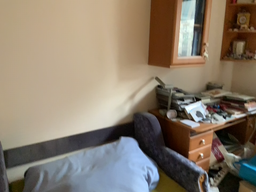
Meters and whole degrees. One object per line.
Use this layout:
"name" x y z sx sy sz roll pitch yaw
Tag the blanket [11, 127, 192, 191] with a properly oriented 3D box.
"blanket" -0.210 0.600 1.620 1.110 0.250 0.800 -9 17 -32
